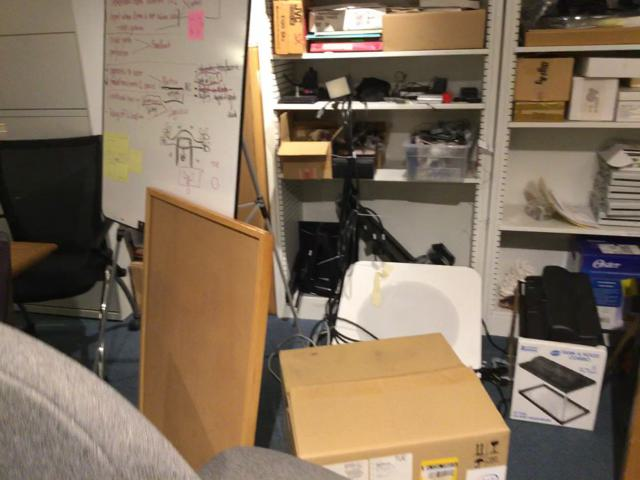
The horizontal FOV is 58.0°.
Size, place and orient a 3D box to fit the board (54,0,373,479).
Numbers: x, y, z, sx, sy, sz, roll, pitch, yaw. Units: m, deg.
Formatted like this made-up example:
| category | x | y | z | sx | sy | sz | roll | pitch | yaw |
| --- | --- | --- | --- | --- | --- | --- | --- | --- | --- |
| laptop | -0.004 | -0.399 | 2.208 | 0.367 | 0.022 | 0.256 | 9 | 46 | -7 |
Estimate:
| category | x | y | z | sx | sy | sz | roll | pitch | yaw |
| --- | --- | --- | --- | --- | --- | --- | --- | --- | --- |
| board | -0.330 | -0.170 | 1.930 | 0.790 | 1.700 | 0.540 | 14 | 25 | 43 |
